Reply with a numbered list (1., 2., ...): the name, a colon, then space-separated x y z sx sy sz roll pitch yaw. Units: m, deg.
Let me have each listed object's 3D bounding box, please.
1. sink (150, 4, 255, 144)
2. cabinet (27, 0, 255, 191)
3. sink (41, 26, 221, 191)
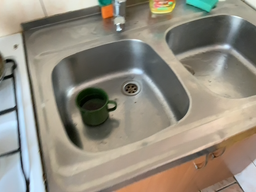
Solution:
1. sink: 0.320 -0.100 0.720 0.350 0.180 0.380 -17 54 -12
2. cabinet: 0.140 0.120 0.980 0.810 0.850 0.580 -17 54 -12
3. sink: -0.020 0.010 0.650 0.380 0.180 0.380 -17 54 -12
